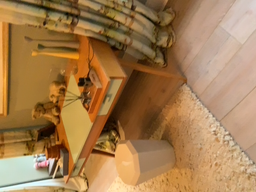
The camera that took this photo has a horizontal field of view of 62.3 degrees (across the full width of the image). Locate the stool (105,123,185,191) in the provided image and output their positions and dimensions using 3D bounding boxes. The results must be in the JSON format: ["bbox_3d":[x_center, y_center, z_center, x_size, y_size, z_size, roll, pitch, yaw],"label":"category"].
[{"bbox_3d":[0.130,0.510,1.810,0.360,0.460,0.380,62,139,34],"label":"stool"}]
